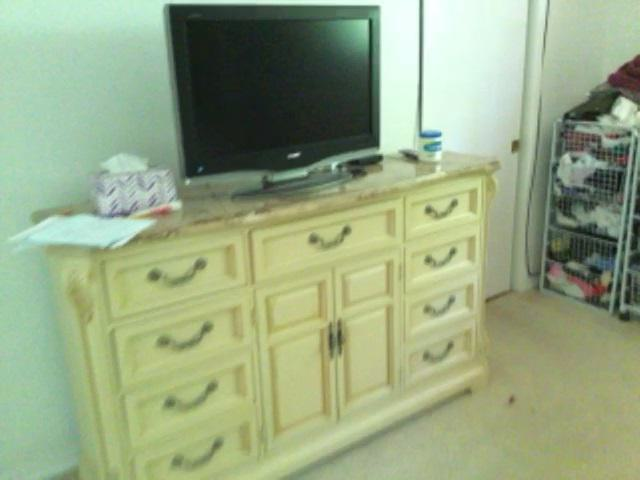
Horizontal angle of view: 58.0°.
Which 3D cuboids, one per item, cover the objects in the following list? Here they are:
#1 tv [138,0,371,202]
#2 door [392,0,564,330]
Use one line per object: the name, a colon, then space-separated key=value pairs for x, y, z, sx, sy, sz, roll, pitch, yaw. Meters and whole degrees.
tv: x=-0.180 y=-0.470 z=1.880 sx=0.680 sy=0.550 sz=0.190 roll=-15 pitch=19 yaw=-29
door: x=0.830 y=-0.480 z=2.980 sx=0.870 sy=1.750 sz=0.200 roll=-12 pitch=18 yaw=-23
